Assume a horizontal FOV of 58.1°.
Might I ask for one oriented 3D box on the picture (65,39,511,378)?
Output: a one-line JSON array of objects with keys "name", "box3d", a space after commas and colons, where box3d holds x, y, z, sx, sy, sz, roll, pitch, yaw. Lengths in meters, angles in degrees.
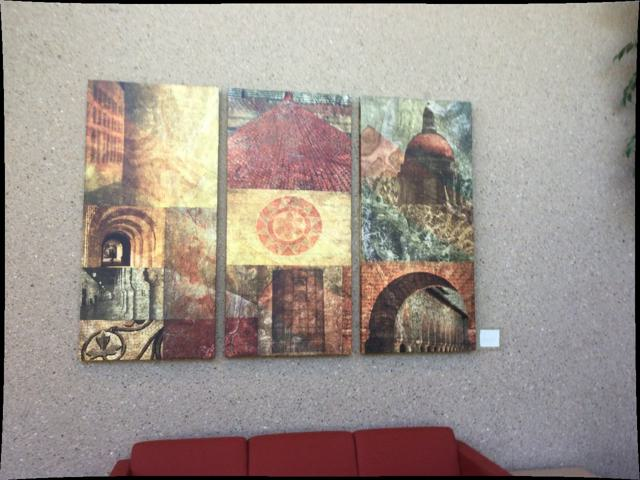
[{"name": "picture", "box3d": [-0.110, -0.130, 3.200, 2.306, 1.703, 0.320, 2, -5, -9]}]
